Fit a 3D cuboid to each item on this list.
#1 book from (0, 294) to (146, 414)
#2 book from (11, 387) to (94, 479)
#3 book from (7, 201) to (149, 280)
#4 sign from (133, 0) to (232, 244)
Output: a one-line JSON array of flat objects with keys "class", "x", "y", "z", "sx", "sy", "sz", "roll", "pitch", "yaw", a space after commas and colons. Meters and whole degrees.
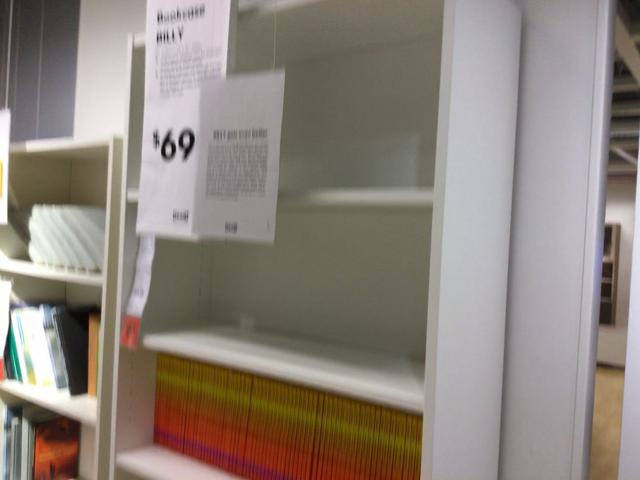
[{"class": "book", "x": -0.730, "y": 0.310, "z": 1.680, "sx": 0.400, "sy": 0.240, "sz": 0.230, "roll": 5, "pitch": 4, "yaw": 38}, {"class": "book", "x": -0.830, "y": 0.620, "z": 1.800, "sx": 0.130, "sy": 0.260, "sz": 0.190, "roll": 5, "pitch": 4, "yaw": 38}, {"class": "book", "x": -0.690, "y": -0.010, "z": 1.620, "sx": 0.490, "sy": 0.180, "sz": 0.140, "roll": 5, "pitch": 4, "yaw": 38}, {"class": "sign", "x": -0.280, "y": -0.320, "z": 1.160, "sx": 0.230, "sy": 0.640, "sz": 0.040, "roll": 4, "pitch": 4, "yaw": 34}]
